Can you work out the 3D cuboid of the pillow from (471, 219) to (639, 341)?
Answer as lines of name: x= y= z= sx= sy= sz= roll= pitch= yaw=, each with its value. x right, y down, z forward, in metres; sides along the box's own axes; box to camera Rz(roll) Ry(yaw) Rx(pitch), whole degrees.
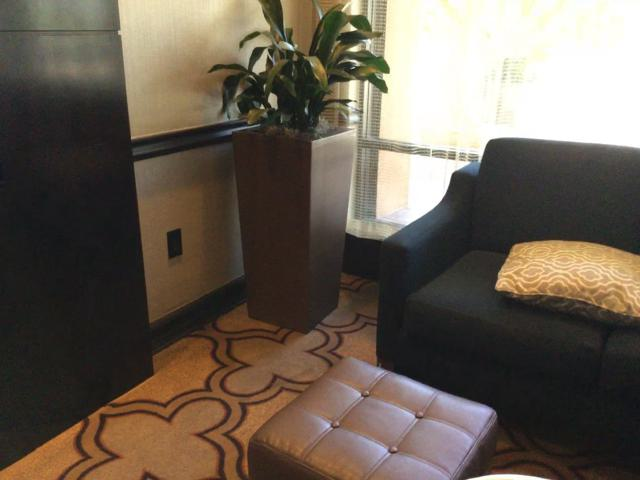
pillow: x=0.900 y=0.110 z=2.040 sx=0.550 sy=0.170 sz=0.510 roll=13 pitch=22 yaw=33

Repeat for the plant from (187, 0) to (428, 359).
plant: x=-0.040 y=-0.400 z=2.710 sx=0.690 sy=1.550 sz=0.820 roll=13 pitch=22 yaw=33
